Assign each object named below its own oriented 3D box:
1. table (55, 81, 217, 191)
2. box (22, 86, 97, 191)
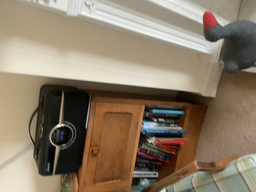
[{"bbox_3d":[0.000,0.610,1.260,0.360,0.760,1.290,22,105,51],"label":"table"},{"bbox_3d":[-0.310,0.160,0.920,0.270,0.190,0.350,20,102,51],"label":"box"}]
